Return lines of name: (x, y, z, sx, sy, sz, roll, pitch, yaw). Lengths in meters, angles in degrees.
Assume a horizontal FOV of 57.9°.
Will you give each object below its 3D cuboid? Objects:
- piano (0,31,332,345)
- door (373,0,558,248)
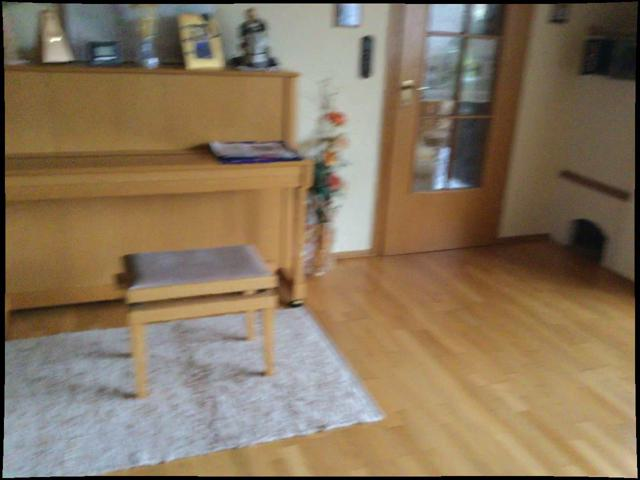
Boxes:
piano: (-0.779, -0.280, 2.670, 1.479, 1.201, 0.590, -5, 24, -20)
door: (0.879, -0.921, 3.460, 0.969, 1.962, 0.140, -5, 24, -20)
